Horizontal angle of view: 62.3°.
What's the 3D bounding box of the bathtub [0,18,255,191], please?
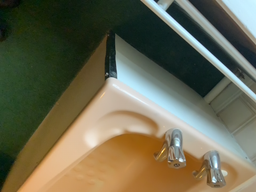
[{"bbox_3d":[-0.300,0.510,1.180,0.690,0.520,1.600,30,115,-24],"label":"bathtub"}]
